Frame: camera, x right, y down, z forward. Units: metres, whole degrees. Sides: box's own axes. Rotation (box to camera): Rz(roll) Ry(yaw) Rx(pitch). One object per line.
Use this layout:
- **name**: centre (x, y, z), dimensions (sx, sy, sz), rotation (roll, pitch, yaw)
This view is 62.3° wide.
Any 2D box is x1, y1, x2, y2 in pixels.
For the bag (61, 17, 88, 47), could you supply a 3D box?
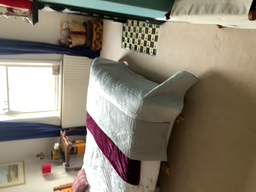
- **bag**: centre (-1.000, -1.180, 3.950), dimensions (0.200, 0.450, 0.480), rotation (29, 117, 57)
